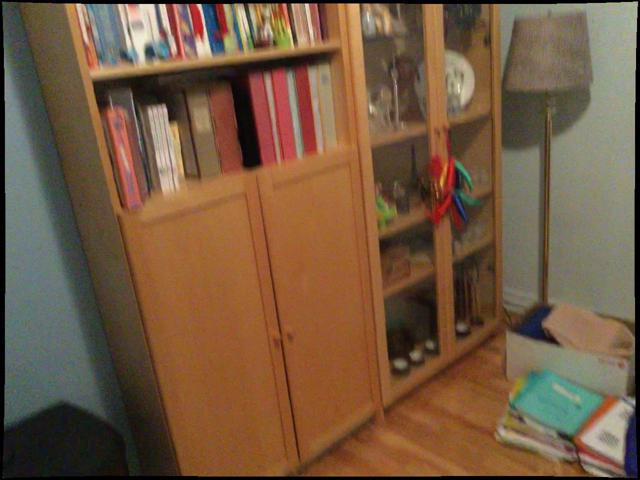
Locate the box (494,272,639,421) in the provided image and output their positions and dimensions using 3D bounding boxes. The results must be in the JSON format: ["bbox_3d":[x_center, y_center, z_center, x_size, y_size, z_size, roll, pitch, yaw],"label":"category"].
[{"bbox_3d":[0.999,0.370,2.190,0.410,0.260,0.510,-23,26,-36],"label":"box"}]

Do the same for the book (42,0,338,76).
[{"bbox_3d":[-0.320,-0.641,1.540,0.720,0.290,0.270,-23,26,-36],"label":"book"}]

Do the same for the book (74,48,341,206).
[{"bbox_3d":[-0.280,-0.350,1.650,0.700,0.290,0.210,-23,26,-36],"label":"book"}]

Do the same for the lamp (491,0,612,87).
[{"bbox_3d":[0.869,-0.741,2.180,0.320,0.270,0.300,-23,26,-36],"label":"lamp"}]

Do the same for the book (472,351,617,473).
[{"bbox_3d":[0.769,0.571,1.990,0.360,0.130,0.330,-23,26,-36],"label":"book"}]

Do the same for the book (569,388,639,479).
[{"bbox_3d":[0.989,0.631,1.810,0.310,0.100,0.270,-23,26,-36],"label":"book"}]
